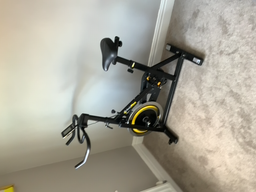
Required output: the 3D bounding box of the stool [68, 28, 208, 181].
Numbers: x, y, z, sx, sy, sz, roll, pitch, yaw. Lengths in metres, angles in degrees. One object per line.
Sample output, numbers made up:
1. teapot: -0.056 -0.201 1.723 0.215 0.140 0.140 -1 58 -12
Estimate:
1. stool: 0.020 0.040 2.150 0.640 1.030 1.210 44 132 48
